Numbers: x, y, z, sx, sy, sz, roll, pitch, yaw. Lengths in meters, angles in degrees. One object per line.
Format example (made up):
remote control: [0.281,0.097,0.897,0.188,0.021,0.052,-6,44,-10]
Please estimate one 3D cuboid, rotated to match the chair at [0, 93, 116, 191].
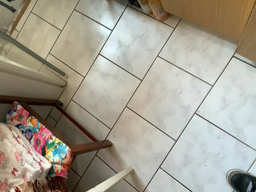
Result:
chair: [-0.490,0.300,0.920,0.470,0.770,0.440,34,95,20]
